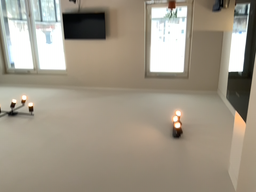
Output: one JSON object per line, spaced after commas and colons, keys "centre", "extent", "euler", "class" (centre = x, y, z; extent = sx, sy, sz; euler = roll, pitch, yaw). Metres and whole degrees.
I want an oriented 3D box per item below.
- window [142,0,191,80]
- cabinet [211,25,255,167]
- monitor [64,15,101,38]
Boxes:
{"centre": [0.760, -1.180, 4.360], "extent": [0.910, 1.660, 0.210], "euler": [2, -164, 9], "class": "window"}
{"centre": [1.550, -0.280, 2.770], "extent": [0.380, 1.180, 2.720], "euler": [3, -164, 12], "class": "cabinet"}
{"centre": [-0.940, -1.430, 4.380], "extent": [0.780, 0.440, 0.050], "euler": [3, -163, 14], "class": "monitor"}
